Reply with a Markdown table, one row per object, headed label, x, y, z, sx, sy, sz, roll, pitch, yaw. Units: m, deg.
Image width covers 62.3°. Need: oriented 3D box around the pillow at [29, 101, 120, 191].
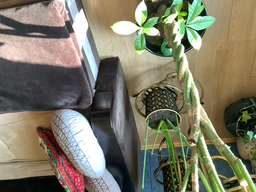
| label | x | y | z | sx | sy | sz | roll | pitch | yaw |
| --- | --- | --- | --- | --- | --- | --- | --- | --- | --- |
| pillow | -0.230 | 0.380 | 1.230 | 0.220 | 0.470 | 0.750 | -2 | 159 | 8 |
